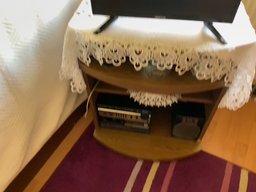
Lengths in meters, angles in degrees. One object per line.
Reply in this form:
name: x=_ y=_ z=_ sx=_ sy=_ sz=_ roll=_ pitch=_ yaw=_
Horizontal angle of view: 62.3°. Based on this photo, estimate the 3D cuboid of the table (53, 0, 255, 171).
table: x=0.120 y=-0.070 z=1.040 sx=0.610 sy=0.740 sz=0.510 roll=7 pitch=50 yaw=6
